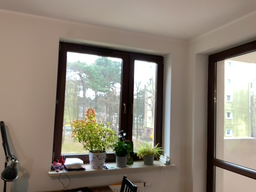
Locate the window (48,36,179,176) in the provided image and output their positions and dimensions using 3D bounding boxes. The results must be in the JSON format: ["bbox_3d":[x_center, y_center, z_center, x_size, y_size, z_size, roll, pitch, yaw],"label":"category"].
[{"bbox_3d":[-0.120,0.150,2.740,1.610,1.560,0.240,4,-4,-19],"label":"window"}]
